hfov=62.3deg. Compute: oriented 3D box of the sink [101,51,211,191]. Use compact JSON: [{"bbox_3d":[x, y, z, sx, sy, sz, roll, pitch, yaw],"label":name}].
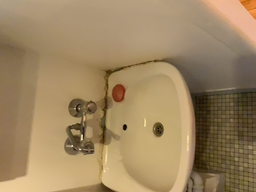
[{"bbox_3d":[0.100,0.130,0.870,0.410,0.170,0.520,-3,81,46],"label":"sink"}]
